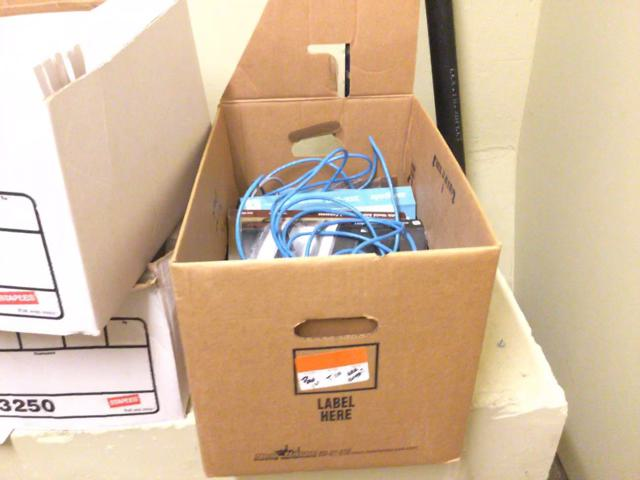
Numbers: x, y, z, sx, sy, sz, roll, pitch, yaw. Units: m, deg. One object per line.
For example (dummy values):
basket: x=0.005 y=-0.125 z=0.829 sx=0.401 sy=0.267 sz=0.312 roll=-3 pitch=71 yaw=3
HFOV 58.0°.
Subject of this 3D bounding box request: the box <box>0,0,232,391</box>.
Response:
box: x=-0.330 y=-0.120 z=0.710 sx=0.360 sy=0.320 sz=0.510 roll=-2 pitch=32 yaw=-1
